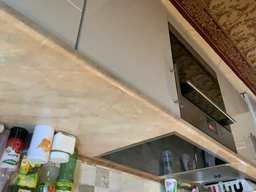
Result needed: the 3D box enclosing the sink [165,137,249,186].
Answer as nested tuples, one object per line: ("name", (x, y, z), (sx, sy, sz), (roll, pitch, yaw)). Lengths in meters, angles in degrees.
("sink", (0.560, 0.490, 1.520), (0.390, 0.180, 0.440), (-27, 138, 34))
